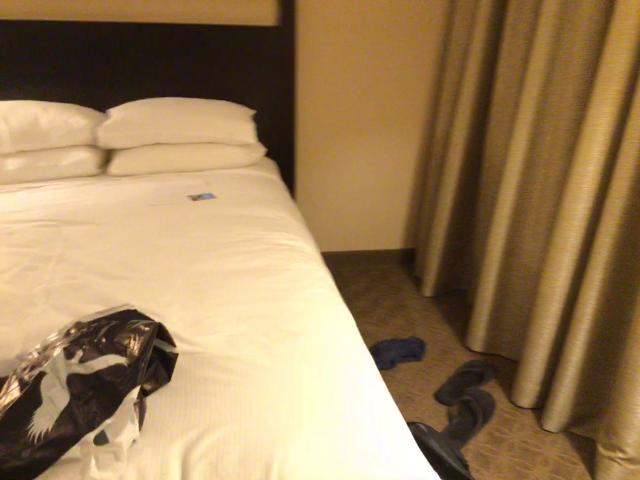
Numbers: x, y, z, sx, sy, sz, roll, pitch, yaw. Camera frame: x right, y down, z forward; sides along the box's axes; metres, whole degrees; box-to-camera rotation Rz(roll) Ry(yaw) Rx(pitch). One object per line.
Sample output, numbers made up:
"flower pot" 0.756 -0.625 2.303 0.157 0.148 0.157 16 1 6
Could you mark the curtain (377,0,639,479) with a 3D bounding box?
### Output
"curtain" 0.970 0.000 1.150 0.510 1.810 3.530 3 19 -12
